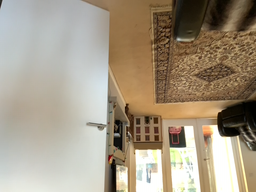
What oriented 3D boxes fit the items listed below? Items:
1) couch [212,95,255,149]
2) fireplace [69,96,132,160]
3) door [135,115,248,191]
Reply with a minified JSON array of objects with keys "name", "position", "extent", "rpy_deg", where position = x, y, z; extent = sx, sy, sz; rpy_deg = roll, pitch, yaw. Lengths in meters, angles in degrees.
[{"name":"couch","position":[2.670,0.630,4.640],"extent":[1.060,0.930,0.940],"rpy_deg":[7,159,-22]},{"name":"fireplace","position":[-0.350,0.610,3.480],"extent":[0.640,0.770,1.370],"rpy_deg":[-3,160,7]},{"name":"door","position":[1.530,1.450,5.530],"extent":[2.660,1.860,0.110],"rpy_deg":[-2,160,5]}]
